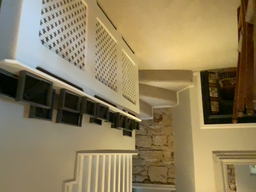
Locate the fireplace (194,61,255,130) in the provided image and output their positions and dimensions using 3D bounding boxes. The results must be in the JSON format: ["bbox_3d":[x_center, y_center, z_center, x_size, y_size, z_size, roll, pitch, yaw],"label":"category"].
[{"bbox_3d":[1.640,0.010,3.320,1.070,0.960,0.380,-5,165,18],"label":"fireplace"}]
